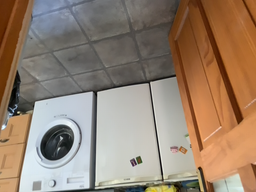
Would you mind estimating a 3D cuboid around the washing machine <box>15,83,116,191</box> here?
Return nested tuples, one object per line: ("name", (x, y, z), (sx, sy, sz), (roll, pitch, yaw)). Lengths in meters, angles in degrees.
("washing machine", (-0.520, 0.470, 2.030), (0.600, 0.890, 0.650), (-11, 151, 10))
